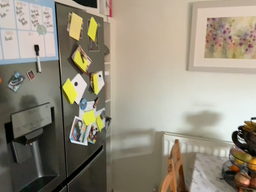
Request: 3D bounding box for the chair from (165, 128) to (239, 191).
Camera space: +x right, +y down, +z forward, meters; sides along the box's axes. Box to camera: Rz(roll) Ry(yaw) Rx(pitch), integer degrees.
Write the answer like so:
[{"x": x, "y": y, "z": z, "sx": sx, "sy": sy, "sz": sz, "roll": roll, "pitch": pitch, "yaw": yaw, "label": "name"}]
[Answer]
[{"x": 0.510, "y": 0.790, "z": 1.580, "sx": 0.410, "sy": 0.960, "sz": 0.410, "roll": 6, "pitch": 14, "yaw": 20, "label": "chair"}]
